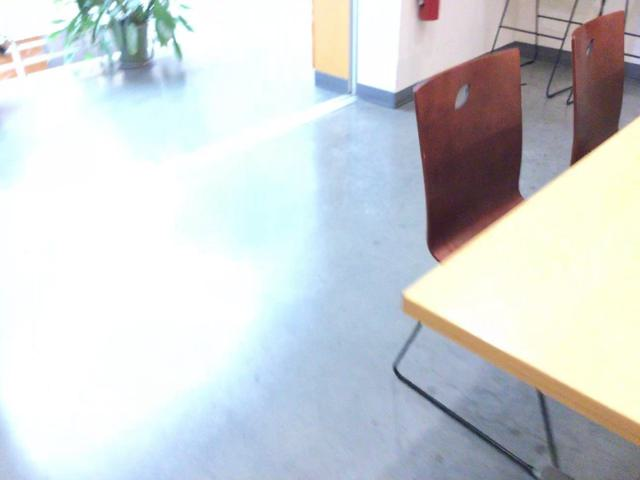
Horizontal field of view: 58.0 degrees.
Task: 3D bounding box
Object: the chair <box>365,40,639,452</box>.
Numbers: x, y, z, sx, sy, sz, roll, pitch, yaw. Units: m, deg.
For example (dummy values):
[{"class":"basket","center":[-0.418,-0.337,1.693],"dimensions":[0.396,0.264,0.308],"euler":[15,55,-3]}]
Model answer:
[{"class":"chair","center":[0.490,-0.030,1.400],"dimensions":[0.490,0.690,0.580],"euler":[-27,41,-32]}]
